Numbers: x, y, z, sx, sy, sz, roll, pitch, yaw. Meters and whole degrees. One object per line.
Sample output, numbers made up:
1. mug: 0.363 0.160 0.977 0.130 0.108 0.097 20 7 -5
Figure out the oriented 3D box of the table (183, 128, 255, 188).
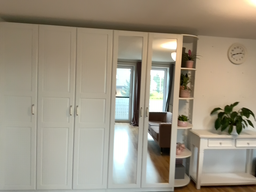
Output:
1. table: 1.640 1.050 3.650 1.230 0.880 0.400 2 5 -7
